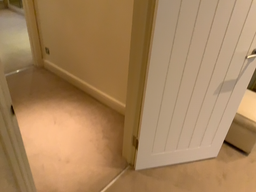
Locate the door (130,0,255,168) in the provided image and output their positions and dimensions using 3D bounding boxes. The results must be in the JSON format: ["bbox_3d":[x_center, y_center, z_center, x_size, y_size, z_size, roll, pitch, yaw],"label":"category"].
[{"bbox_3d":[0.480,-0.270,1.270,0.800,1.950,0.050,-4,35,-14],"label":"door"}]
